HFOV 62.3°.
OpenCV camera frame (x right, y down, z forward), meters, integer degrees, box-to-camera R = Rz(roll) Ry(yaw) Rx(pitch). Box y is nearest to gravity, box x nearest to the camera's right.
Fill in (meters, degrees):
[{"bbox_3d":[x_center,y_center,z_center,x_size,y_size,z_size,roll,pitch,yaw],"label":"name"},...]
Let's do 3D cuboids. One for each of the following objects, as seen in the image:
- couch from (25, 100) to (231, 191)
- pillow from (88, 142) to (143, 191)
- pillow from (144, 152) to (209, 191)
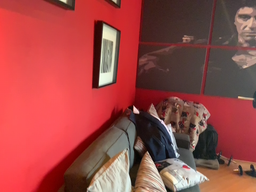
[{"bbox_3d":[0.180,0.730,1.970,0.980,0.890,2.030,7,12,12],"label":"couch"},{"bbox_3d":[-0.060,0.590,1.350,0.240,0.390,0.520,5,11,7],"label":"pillow"},{"bbox_3d":[0.430,0.680,1.920,0.410,0.110,0.380,-3,13,-32],"label":"pillow"}]
